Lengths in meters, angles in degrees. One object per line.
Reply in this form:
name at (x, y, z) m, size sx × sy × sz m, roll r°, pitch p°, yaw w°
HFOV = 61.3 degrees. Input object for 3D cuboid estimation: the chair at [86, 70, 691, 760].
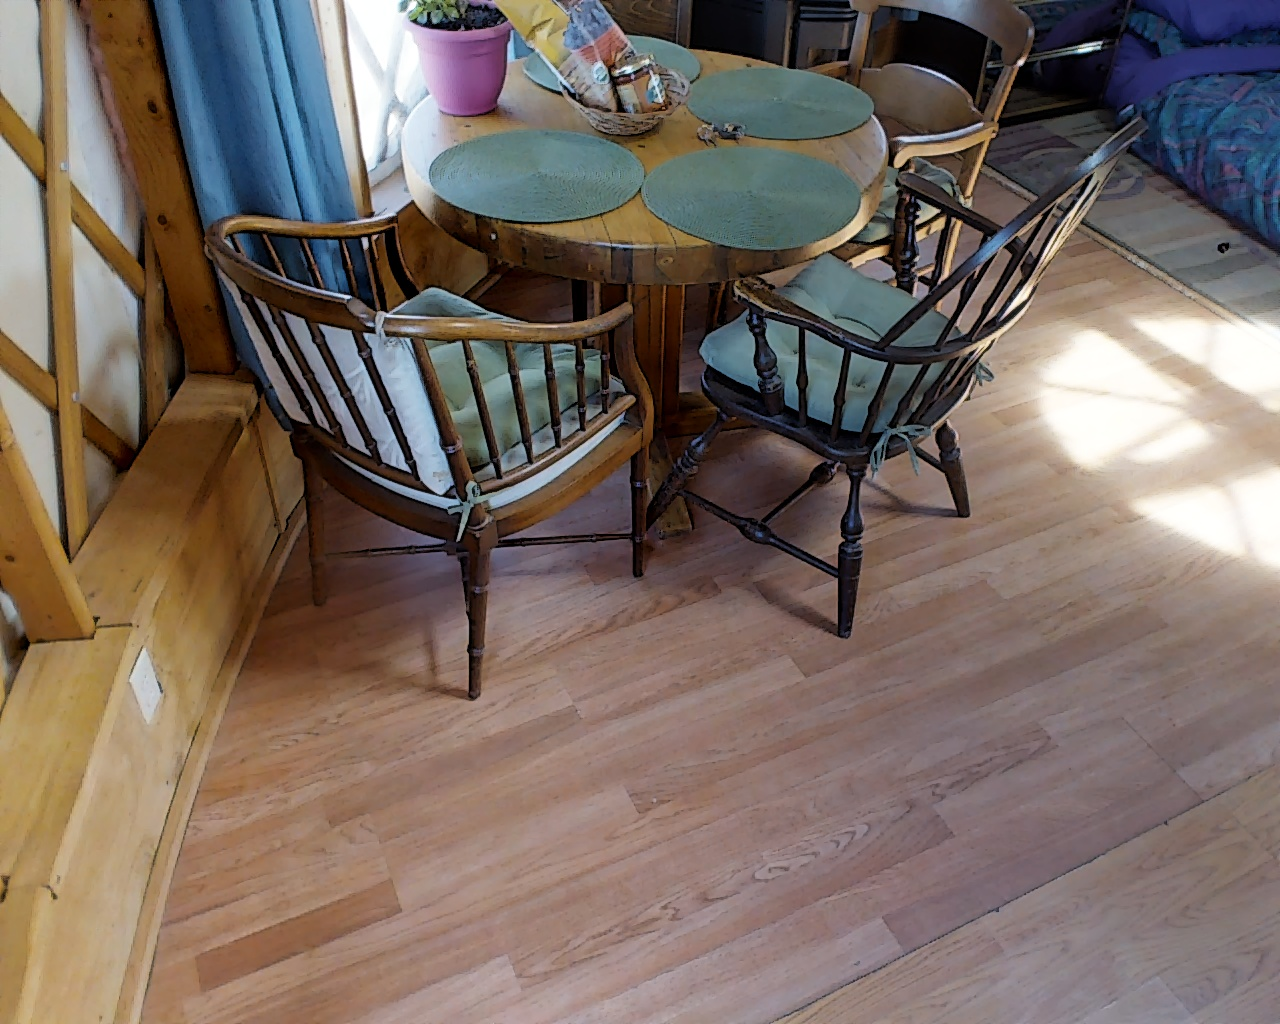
chair at (-0.360, -0.180, 1.890) m, size 0.640 × 0.860 × 0.610 m, roll 23°, pitch 46°, yaw 23°

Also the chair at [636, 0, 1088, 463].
chair at (0.450, -0.750, 2.520) m, size 0.670 × 0.910 × 0.620 m, roll -26°, pitch 48°, yaw -27°

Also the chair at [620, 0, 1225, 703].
chair at (0.440, -0.330, 1.990) m, size 0.690 × 0.970 × 0.660 m, roll 29°, pitch 49°, yaw 27°
